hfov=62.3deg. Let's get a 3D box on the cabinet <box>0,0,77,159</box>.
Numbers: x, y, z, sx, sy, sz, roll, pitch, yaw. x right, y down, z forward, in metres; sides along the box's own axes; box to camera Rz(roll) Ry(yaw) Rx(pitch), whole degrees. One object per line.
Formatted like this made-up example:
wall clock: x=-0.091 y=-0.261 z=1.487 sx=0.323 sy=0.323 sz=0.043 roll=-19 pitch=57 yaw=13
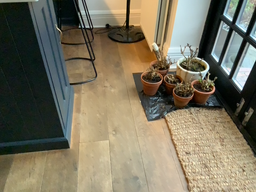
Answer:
cabinet: x=-0.820 y=-0.190 z=1.240 sx=0.870 sy=0.930 sz=0.690 roll=-3 pitch=42 yaw=-6
